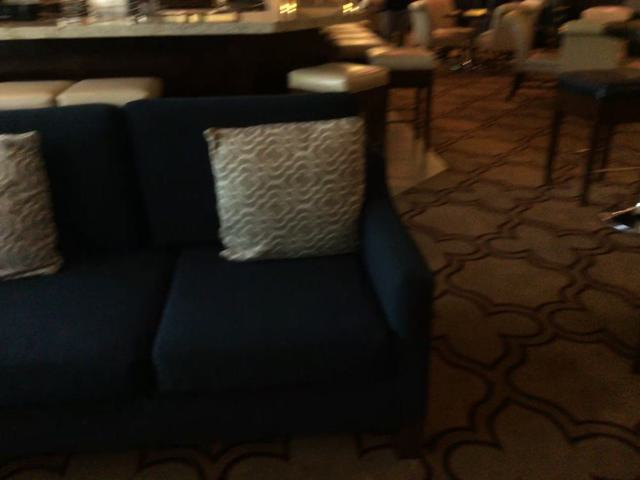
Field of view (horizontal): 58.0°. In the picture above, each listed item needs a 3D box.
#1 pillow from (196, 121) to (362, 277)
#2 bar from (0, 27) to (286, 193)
[{"bbox_3d":[-0.130,-0.140,1.900,0.500,0.440,0.190,-4,23,-9],"label":"pillow"},{"bbox_3d":[-1.190,-0.820,3.610,1.910,0.910,0.240,-4,23,-9],"label":"bar"}]
